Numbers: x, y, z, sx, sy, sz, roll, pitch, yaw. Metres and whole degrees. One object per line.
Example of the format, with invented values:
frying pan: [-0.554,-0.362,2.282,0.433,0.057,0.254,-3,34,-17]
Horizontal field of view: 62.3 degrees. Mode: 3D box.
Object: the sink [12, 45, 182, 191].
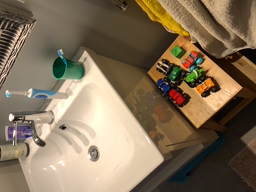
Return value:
sink: [-0.190,0.210,0.820,0.620,0.130,0.480,-49,60,22]
